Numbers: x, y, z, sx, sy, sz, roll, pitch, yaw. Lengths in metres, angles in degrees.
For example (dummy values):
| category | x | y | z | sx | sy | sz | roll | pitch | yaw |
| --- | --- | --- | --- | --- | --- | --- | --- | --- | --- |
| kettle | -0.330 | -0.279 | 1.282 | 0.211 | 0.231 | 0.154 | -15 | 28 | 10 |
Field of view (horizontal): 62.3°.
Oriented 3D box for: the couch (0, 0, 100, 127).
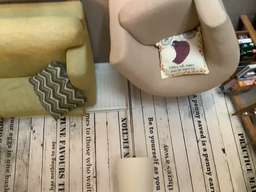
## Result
| category | x | y | z | sx | sy | sz | roll | pitch | yaw |
| --- | --- | --- | --- | --- | --- | --- | --- | --- | --- |
| couch | -1.710 | -0.180 | 1.960 | 2.730 | 0.760 | 1.200 | -4 | 162 | -2 |

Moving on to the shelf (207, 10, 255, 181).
| category | x | y | z | sx | sy | sz | roll | pitch | yaw |
| --- | --- | --- | --- | --- | --- | --- | --- | --- | --- |
| shelf | 1.300 | 0.040 | 2.150 | 0.370 | 1.510 | 0.850 | -3 | 162 | -3 |

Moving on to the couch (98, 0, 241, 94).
| category | x | y | z | sx | sy | sz | roll | pitch | yaw |
| --- | --- | --- | --- | --- | --- | --- | --- | --- | --- |
| couch | 0.320 | -0.510 | 1.610 | 0.790 | 0.680 | 0.720 | -14 | 159 | 27 |
